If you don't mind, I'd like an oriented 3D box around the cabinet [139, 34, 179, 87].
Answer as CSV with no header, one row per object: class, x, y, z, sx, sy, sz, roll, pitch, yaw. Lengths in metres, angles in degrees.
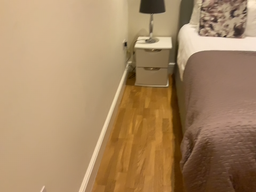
cabinet,0.380,-0.450,2.610,0.430,0.490,0.450,5,32,9
